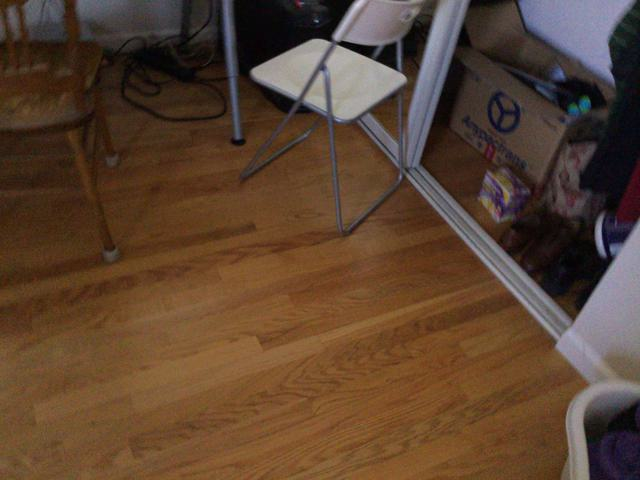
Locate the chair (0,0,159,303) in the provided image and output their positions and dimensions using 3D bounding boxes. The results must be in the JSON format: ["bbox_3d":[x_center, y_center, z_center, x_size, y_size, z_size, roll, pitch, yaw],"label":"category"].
[{"bbox_3d":[-0.820,-0.440,1.490,0.570,1.050,0.590,-13,44,-22],"label":"chair"}]

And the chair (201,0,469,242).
[{"bbox_3d":[0.040,-0.550,1.910,0.600,0.760,0.570,27,44,23],"label":"chair"}]
